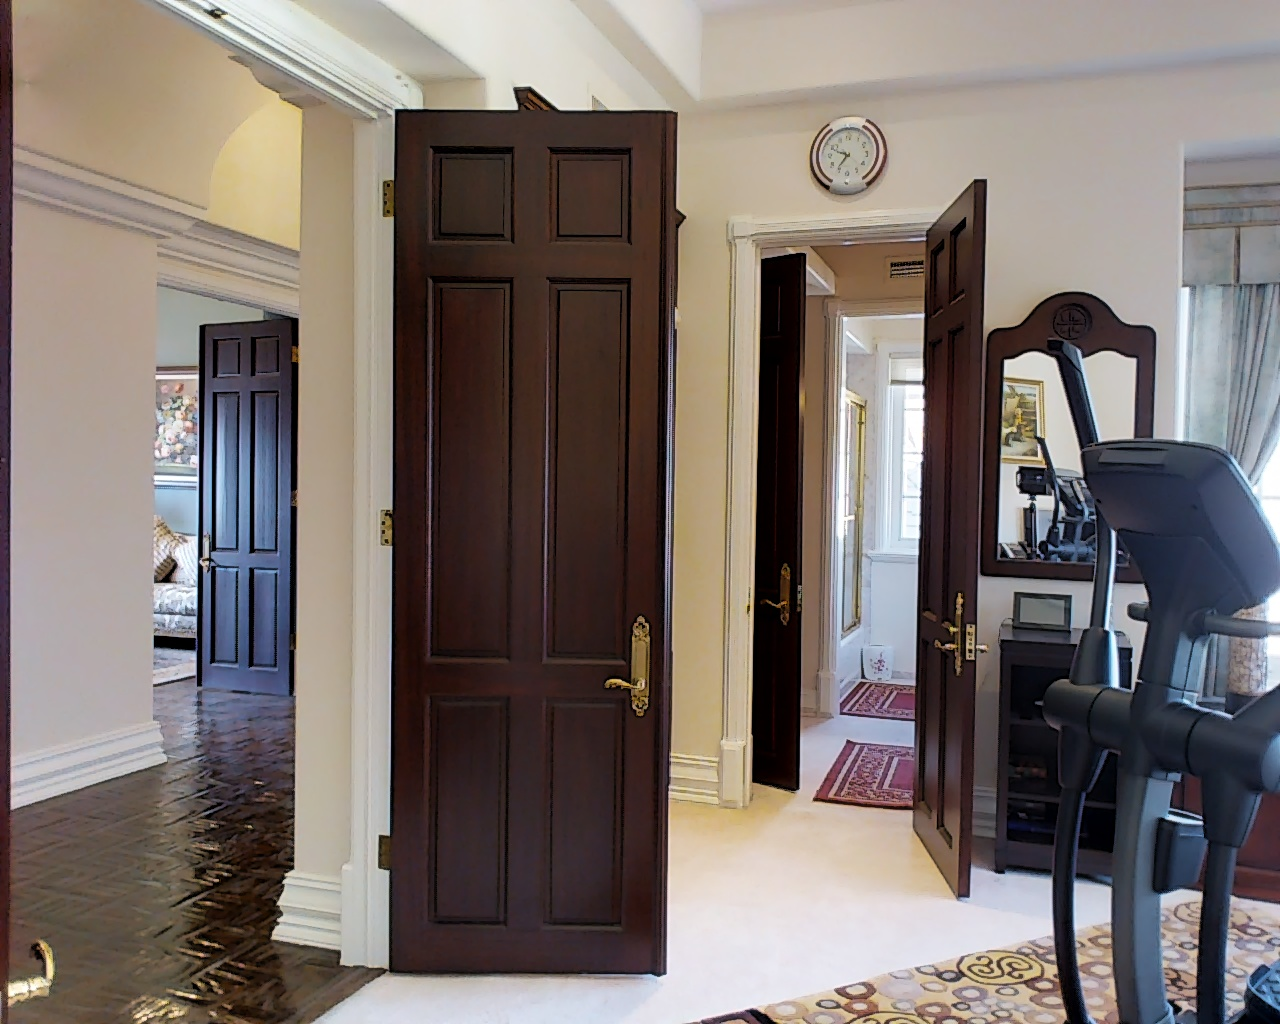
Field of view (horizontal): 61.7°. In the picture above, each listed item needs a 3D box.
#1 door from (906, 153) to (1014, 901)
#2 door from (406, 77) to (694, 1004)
[{"bbox_3d":[1.150,0.050,3.920,0.150,2.470,0.770,1,1,4],"label":"door"},{"bbox_3d":[-0.250,0.080,3.010,0.740,2.480,0.200,1,1,8],"label":"door"}]
